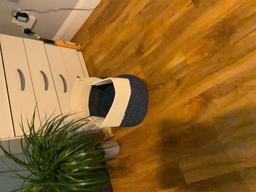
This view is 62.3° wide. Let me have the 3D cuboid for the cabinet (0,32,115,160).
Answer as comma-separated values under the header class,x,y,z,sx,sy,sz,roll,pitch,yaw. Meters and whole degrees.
class,x,y,z,sx,sy,sz,roll,pitch,yaw
cabinet,-0.630,0.010,1.620,0.440,0.790,0.720,-34,67,38
